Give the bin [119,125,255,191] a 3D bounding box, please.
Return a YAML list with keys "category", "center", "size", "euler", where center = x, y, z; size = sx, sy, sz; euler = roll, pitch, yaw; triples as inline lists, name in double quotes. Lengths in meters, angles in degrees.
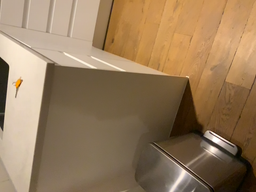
- category: "bin"
  center: [0.310, 0.400, 1.120]
  size: [0.470, 0.480, 0.260]
  euler: [27, 110, 42]
